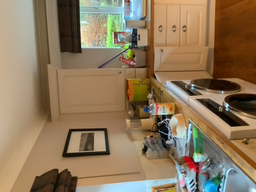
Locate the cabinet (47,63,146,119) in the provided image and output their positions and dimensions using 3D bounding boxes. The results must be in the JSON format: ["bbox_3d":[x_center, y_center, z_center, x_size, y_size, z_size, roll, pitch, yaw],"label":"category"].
[{"bbox_3d":[-0.420,-0.100,3.050,0.410,1.290,0.720,-141,50,-79],"label":"cabinet"}]
